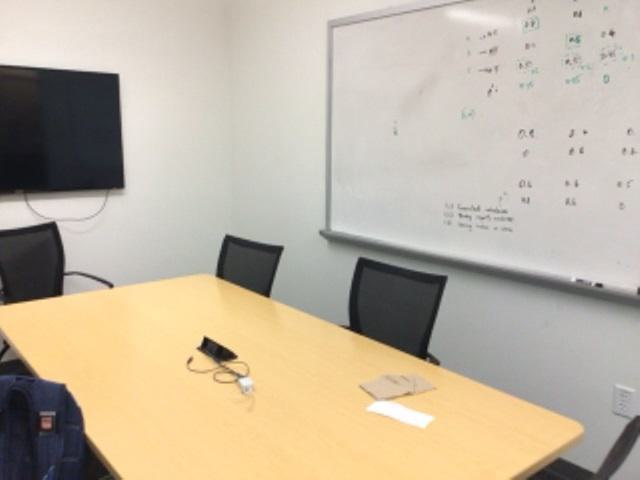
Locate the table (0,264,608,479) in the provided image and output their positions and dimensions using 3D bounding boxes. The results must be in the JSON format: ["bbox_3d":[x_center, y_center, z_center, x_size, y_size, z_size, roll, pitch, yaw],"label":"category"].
[{"bbox_3d":[-0.380,0.690,1.980,1.140,0.750,2.110,-6,12,-41],"label":"table"}]
